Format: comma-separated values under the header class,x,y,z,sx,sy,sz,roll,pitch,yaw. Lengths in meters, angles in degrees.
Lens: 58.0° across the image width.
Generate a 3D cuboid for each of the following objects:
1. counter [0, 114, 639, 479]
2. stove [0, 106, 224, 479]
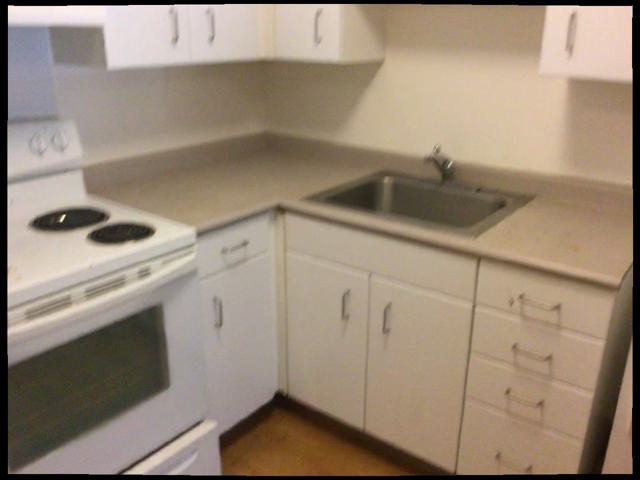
class,x,y,z,sx,sy,sz,roll,pitch,yaw
counter,-0.260,0.020,1.540,1.778,0.180,2.179,18,28,34
stove,-0.868,0.321,1.680,0.799,1.192,0.740,17,30,33
